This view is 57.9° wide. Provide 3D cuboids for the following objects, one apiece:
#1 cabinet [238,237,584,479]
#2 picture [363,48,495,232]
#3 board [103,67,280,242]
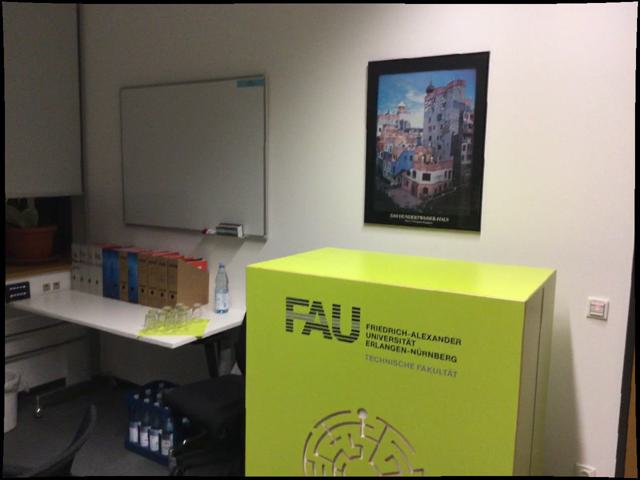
[{"bbox_3d":[0.340,0.681,2.280,1.109,1.211,0.700,6,11,31],"label":"cabinet"},{"bbox_3d":[0.490,-0.460,2.710,0.590,0.791,0.080,6,11,31],"label":"picture"},{"bbox_3d":[-0.799,-0.511,3.460,1.289,0.921,0.120,6,11,31],"label":"board"}]
